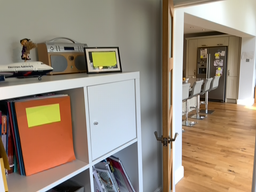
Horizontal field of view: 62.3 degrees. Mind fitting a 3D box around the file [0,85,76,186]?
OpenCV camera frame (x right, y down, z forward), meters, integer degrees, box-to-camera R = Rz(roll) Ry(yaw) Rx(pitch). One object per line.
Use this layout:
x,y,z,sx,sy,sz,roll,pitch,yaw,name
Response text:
-0.460,0.130,0.930,0.320,0.300,0.300,7,14,37,file
